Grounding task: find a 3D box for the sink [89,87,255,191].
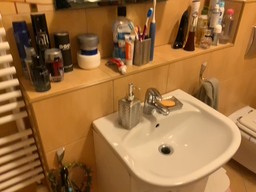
[{"bbox_3d":[0.170,0.180,0.860,0.510,0.150,0.410,-19,37,-29],"label":"sink"}]
